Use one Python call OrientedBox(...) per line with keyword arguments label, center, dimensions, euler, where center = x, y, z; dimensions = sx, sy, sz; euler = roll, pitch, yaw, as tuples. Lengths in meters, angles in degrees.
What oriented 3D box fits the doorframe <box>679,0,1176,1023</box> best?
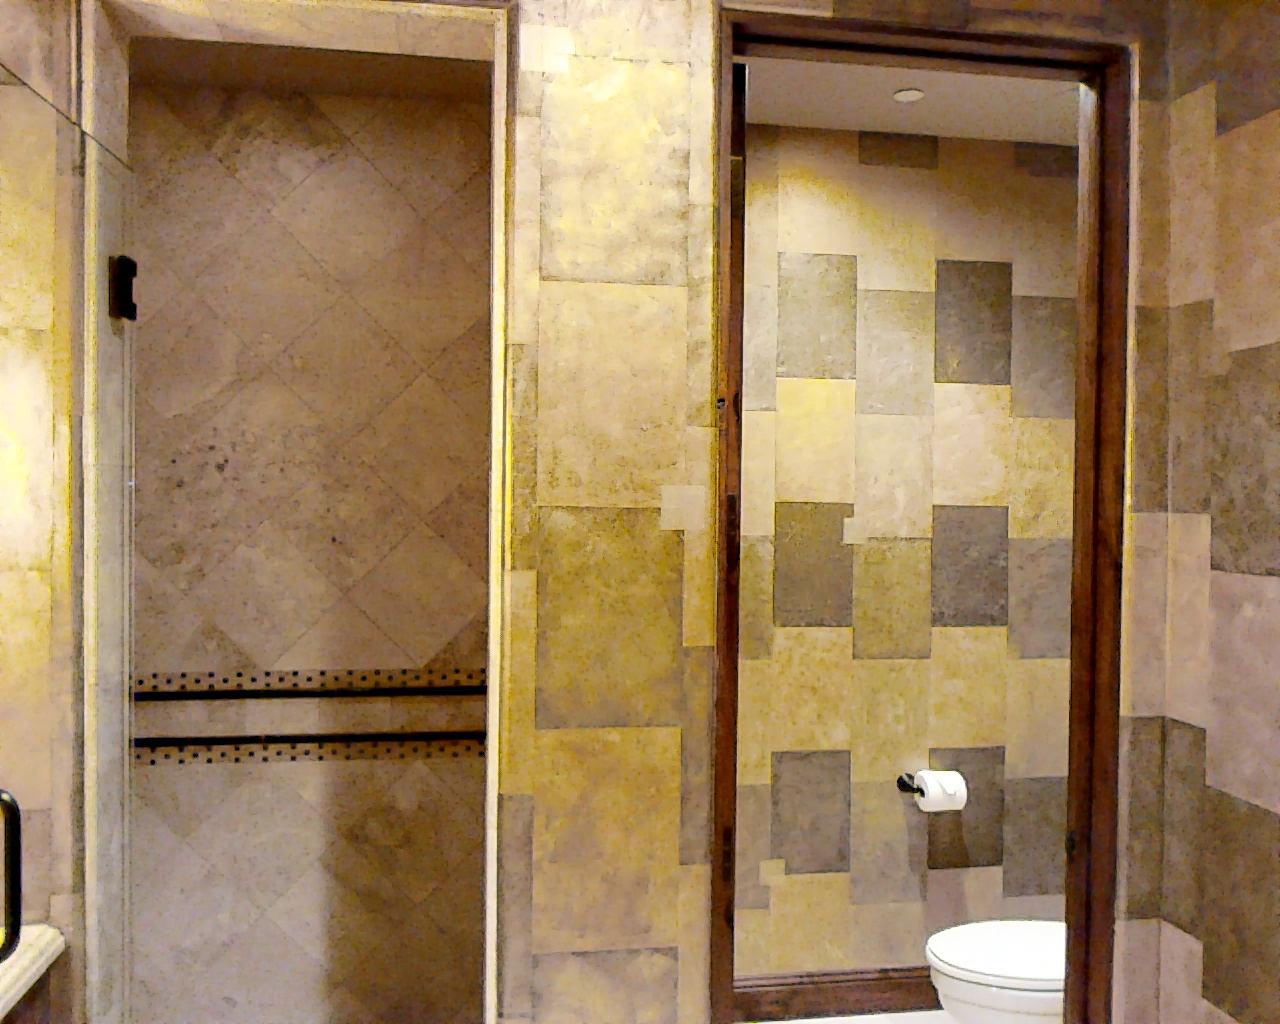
OrientedBox(label="doorframe", center=(0.520, 0.340, 2.020), dimensions=(0.840, 2.440, 0.250), euler=(1, 1, -9))
